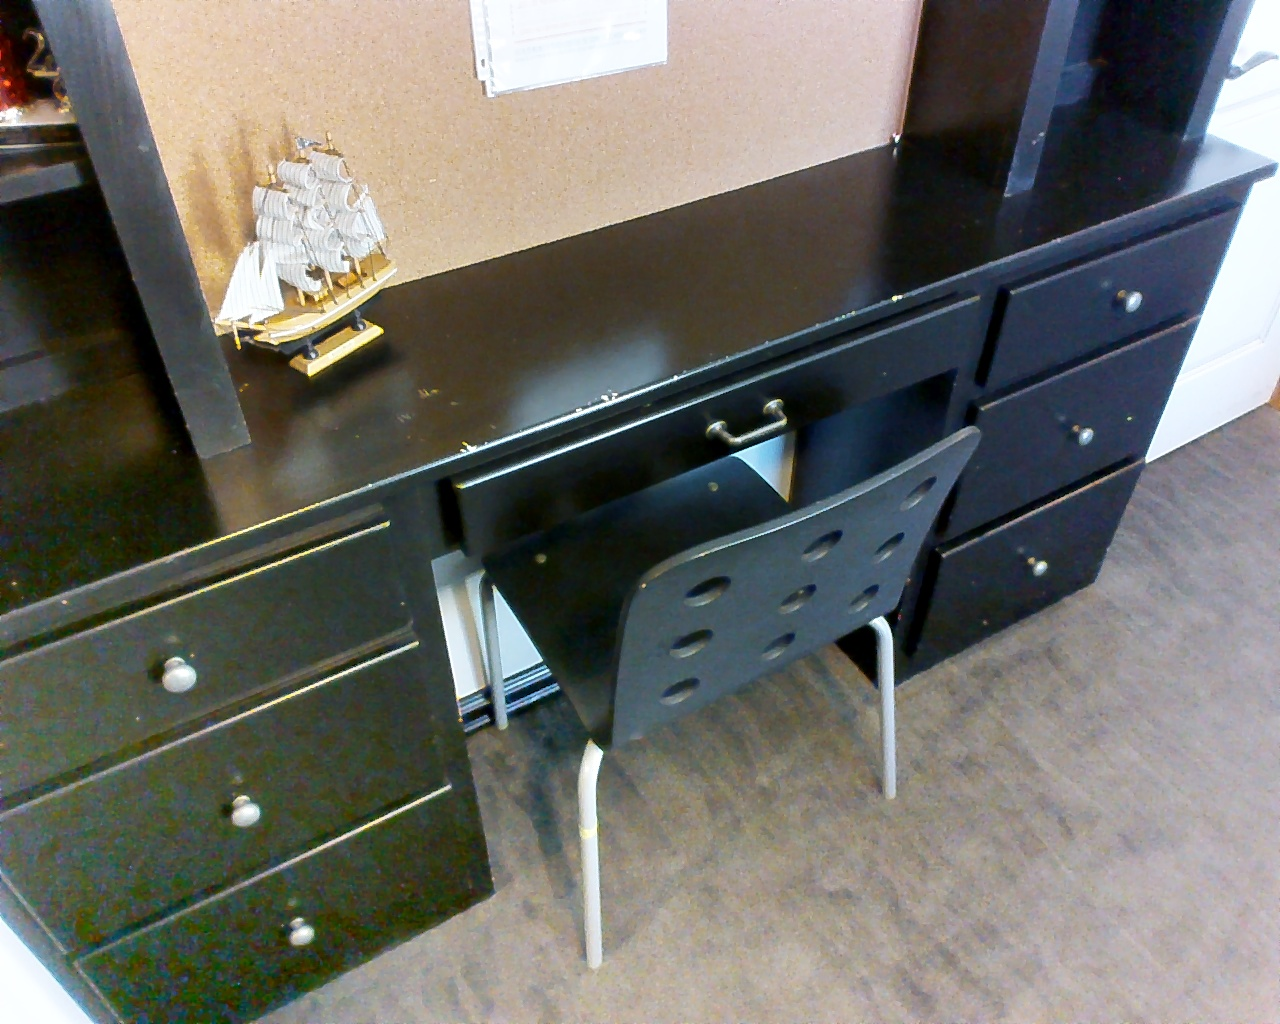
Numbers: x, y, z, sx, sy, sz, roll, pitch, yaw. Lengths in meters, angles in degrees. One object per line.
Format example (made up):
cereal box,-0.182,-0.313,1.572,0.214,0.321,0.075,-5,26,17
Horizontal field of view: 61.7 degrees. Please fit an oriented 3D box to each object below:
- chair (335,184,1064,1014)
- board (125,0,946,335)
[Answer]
chair,0.050,0.120,1.460,0.610,0.830,0.530,-22,47,-21
board,-0.030,-0.560,1.170,0.970,0.520,0.030,-22,47,-21
